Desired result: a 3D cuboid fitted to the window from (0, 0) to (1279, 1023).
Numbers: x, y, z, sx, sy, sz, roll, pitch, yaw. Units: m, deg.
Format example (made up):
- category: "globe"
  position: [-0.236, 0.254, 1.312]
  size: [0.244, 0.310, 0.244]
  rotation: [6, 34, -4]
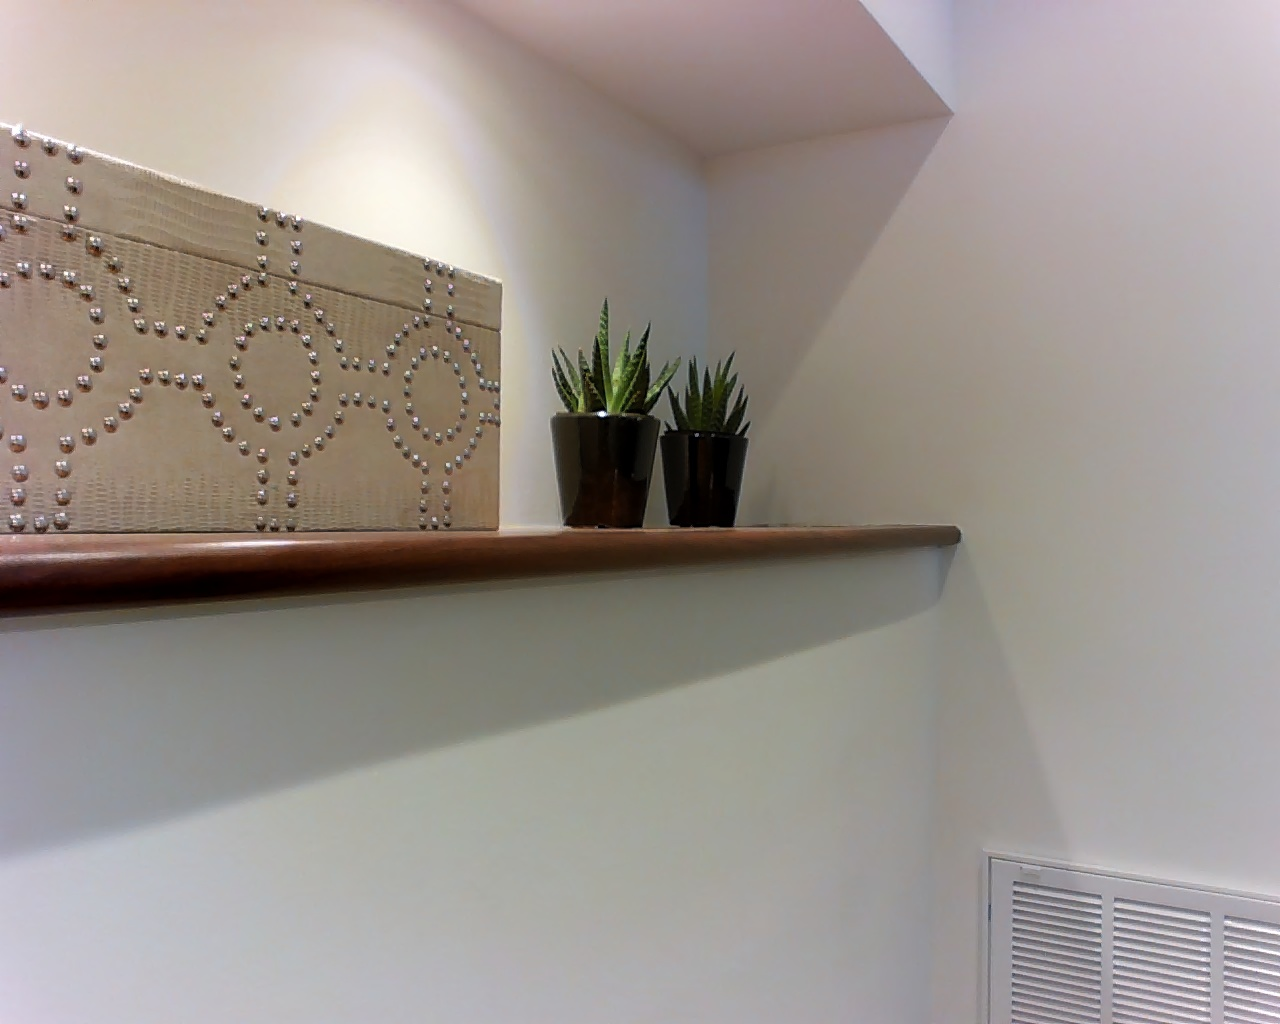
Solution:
- category: "window"
  position: [0.240, -0.400, 0.530]
  size: [1.380, 1.160, 2.190]
  rotation: [0, -1, 31]
